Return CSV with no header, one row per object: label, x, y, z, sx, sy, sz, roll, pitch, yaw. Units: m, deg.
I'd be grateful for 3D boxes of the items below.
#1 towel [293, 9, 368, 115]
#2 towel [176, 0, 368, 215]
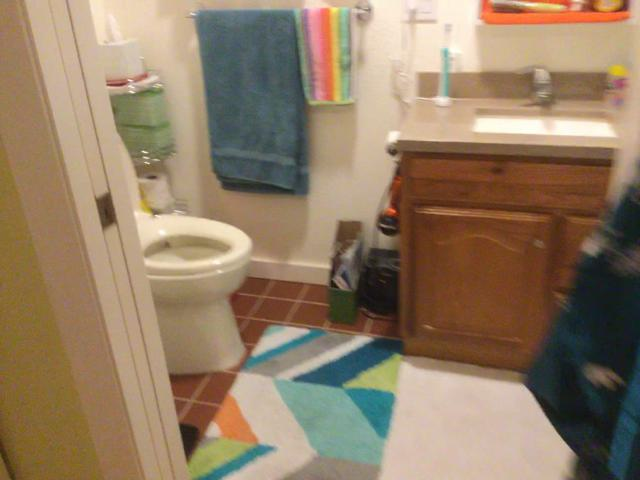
towel,0.040,-0.590,1.930,0.210,0.320,0.100,3,25,16
towel,-0.150,-0.450,2.040,0.600,0.710,0.120,3,25,16
